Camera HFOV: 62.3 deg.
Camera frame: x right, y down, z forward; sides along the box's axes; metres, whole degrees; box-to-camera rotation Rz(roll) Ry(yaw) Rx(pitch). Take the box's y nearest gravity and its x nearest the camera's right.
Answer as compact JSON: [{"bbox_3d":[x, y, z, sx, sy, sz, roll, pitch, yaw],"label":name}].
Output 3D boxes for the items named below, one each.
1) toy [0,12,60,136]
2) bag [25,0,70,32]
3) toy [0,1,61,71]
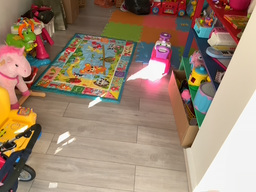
[{"bbox_3d":[-1.150,-0.250,1.820,0.770,0.620,0.860,8,40,2],"label":"toy"},{"bbox_3d":[-1.120,-1.210,3.000,0.490,0.470,0.250,6,40,-1],"label":"bag"},{"bbox_3d":[-1.180,-0.720,2.470,0.500,0.490,0.690,8,40,2],"label":"toy"}]
